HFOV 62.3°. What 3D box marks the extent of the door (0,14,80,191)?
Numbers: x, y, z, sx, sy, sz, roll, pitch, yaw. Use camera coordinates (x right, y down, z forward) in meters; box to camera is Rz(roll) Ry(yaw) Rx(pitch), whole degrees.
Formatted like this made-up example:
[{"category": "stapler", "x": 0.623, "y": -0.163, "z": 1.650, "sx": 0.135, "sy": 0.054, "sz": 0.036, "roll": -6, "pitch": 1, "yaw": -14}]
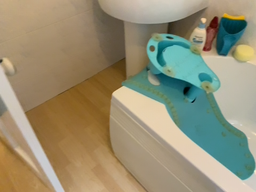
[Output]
[{"category": "door", "x": -0.580, "y": -0.460, "z": 0.380, "sx": 0.730, "sy": 2.610, "sz": 0.070, "roll": 27, "pitch": 52, "yaw": 22}]
